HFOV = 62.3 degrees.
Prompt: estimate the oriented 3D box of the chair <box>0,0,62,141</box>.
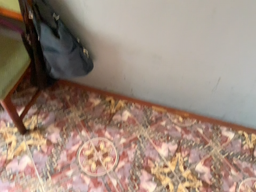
[{"bbox_3d":[-0.740,-0.220,1.180,0.430,0.880,0.470,19,52,7],"label":"chair"}]
